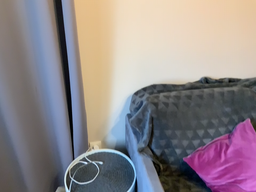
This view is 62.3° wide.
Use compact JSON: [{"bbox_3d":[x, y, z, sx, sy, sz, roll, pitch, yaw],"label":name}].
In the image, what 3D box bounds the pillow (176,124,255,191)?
[{"bbox_3d":[0.510,0.370,1.080,0.380,0.340,0.160,16,23,-16],"label":"pillow"}]
